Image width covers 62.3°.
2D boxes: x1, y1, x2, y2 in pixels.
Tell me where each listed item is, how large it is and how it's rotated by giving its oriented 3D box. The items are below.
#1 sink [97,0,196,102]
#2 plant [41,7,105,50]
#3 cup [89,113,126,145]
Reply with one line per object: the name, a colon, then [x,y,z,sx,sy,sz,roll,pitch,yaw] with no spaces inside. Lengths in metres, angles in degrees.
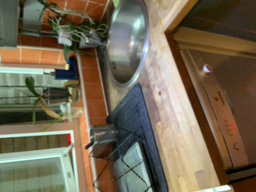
sink: [0.050,-0.280,1.110,0.530,0.220,0.510,26,112,60]
plant: [-0.320,-0.380,1.240,0.140,0.330,0.180,20,107,61]
cup: [-0.110,0.170,1.090,0.150,0.130,0.120,-42,53,54]
